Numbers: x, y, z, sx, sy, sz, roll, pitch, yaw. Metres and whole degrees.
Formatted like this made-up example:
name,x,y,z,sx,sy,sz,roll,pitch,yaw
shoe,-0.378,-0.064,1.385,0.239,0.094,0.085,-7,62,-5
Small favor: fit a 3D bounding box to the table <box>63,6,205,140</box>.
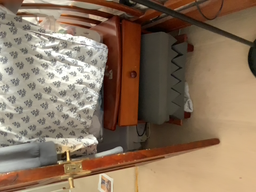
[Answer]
name,x,y,z,sx,sy,sz,roll,pitch,yaw
table,0.010,-0.100,1.310,0.610,0.610,0.560,4,92,55
